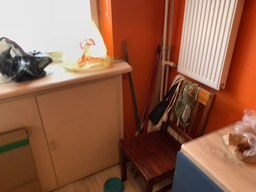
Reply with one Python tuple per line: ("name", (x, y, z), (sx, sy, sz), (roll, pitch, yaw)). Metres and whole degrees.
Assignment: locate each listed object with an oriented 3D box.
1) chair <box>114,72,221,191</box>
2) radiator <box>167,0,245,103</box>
("chair", (0.250, 0.360, 1.610), (0.540, 0.900, 0.440), (-15, 31, -25))
("radiator", (0.500, -0.370, 1.490), (0.100, 0.700, 0.470), (-16, 32, -27))
